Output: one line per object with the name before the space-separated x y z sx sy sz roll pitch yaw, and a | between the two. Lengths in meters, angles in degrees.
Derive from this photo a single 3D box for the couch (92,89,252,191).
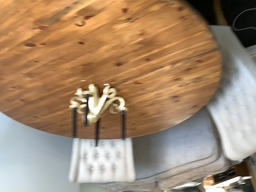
couch | 0.500 0.830 2.970 1.760 0.910 1.040 -26 140 33
